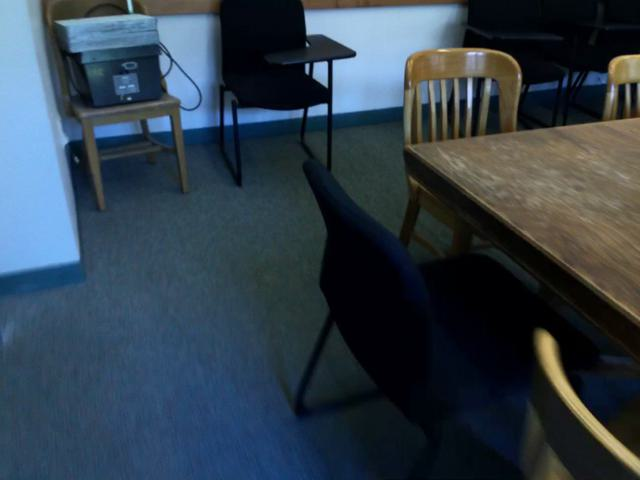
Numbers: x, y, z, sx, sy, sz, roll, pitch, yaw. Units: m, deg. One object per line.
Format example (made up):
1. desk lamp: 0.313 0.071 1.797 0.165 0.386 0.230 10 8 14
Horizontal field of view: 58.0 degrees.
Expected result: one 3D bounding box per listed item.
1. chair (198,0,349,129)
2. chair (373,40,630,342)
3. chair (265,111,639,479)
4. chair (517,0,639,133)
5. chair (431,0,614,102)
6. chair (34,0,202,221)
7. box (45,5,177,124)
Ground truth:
1. chair: -0.240 -0.930 2.880 0.550 0.470 0.650 -13 34 -17
2. chair: 0.560 -0.200 2.050 0.500 0.810 0.610 -13 34 -17
3. chair: 0.270 0.090 1.290 0.630 0.530 0.490 -13 34 -17
4. chair: 1.700 -1.220 3.650 0.510 0.860 0.560 -13 34 -17
5. chair: 1.110 -1.190 3.290 0.630 0.520 0.700 -13 34 -17
6. chair: -0.930 -0.670 2.710 0.510 0.890 0.630 -13 34 -17
7. box: -0.920 -0.790 2.550 0.450 0.360 0.430 -13 34 -17
